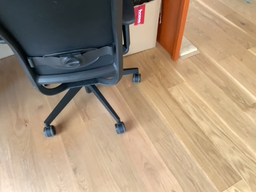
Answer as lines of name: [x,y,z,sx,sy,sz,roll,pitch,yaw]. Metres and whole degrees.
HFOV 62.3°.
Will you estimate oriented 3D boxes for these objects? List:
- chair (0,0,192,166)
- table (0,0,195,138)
chair: [-0.260,-0.320,0.980,0.740,1.110,0.770,-10,53,-5]
table: [-0.510,-0.440,1.310,1.640,0.760,0.760,-24,55,-15]
